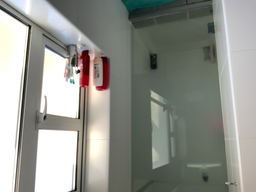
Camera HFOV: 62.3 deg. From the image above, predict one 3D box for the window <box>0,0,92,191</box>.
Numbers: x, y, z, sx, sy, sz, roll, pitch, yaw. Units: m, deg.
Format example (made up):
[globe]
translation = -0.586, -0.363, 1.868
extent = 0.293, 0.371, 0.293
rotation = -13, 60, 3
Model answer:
[window]
translation = -0.620, 0.000, 0.490
extent = 0.050, 0.920, 2.120
rotation = -4, 169, 18
